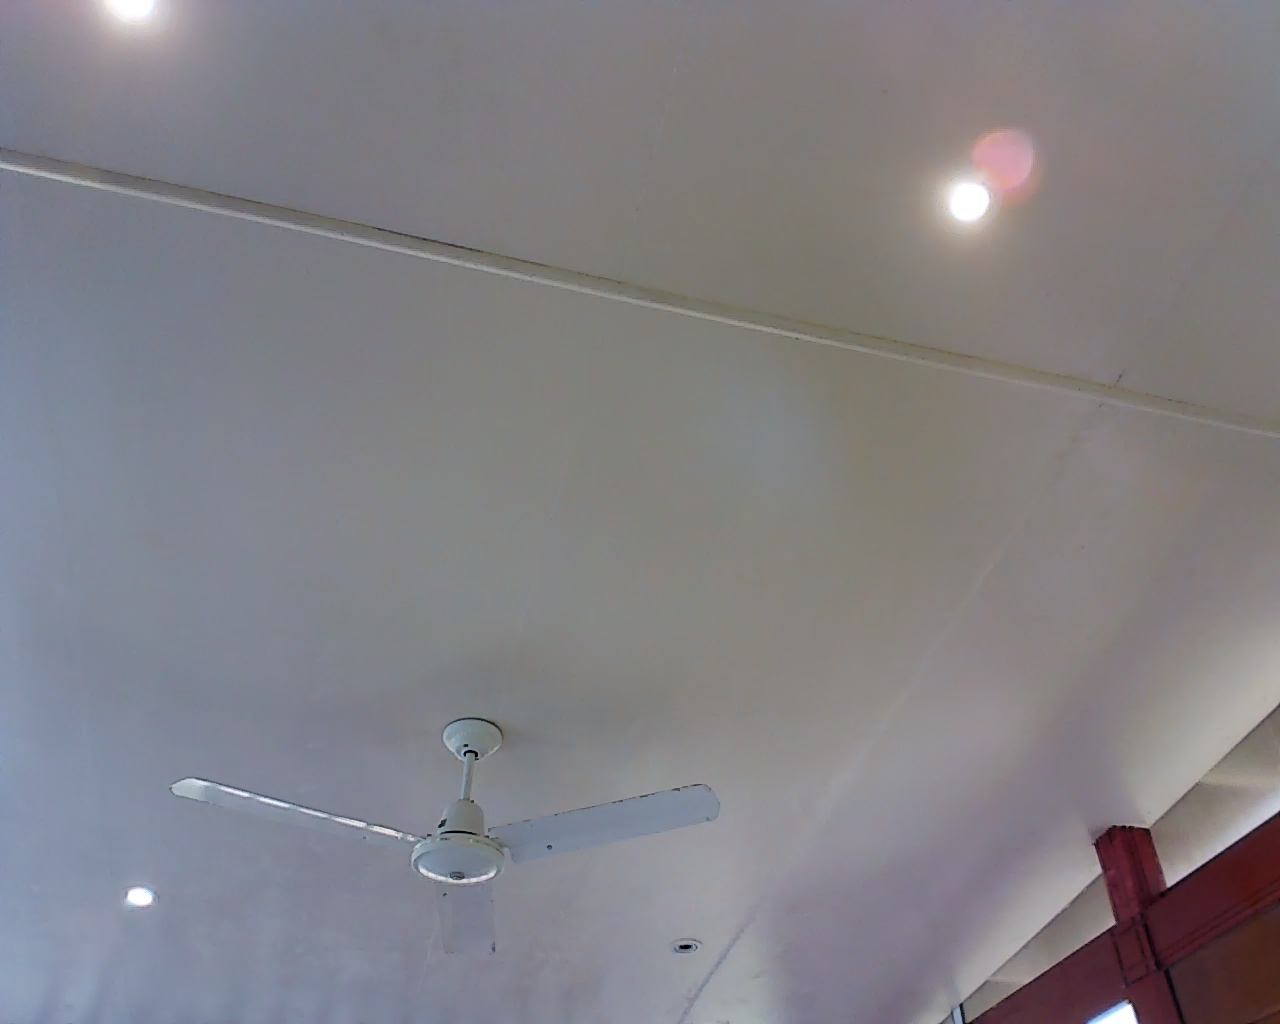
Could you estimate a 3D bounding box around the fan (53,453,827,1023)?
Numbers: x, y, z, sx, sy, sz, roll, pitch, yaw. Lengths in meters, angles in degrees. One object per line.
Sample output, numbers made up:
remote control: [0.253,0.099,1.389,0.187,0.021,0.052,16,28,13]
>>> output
fan: [-0.410,0.660,2.360,1.200,1.260,0.290,-20,22,24]
